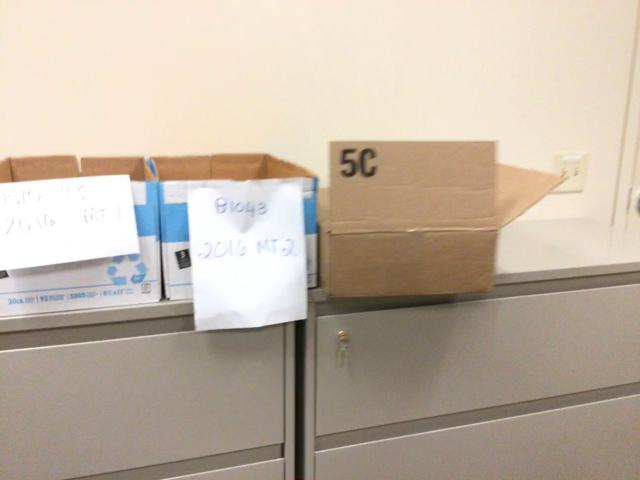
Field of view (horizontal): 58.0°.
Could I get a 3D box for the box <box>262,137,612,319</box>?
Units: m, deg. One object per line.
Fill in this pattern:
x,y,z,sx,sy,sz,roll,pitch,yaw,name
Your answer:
0.210,-0.080,1.330,0.550,0.300,0.590,-4,11,-19,box

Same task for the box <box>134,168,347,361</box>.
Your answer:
-0.200,0.010,1.270,0.360,0.300,0.490,-4,11,-19,box
